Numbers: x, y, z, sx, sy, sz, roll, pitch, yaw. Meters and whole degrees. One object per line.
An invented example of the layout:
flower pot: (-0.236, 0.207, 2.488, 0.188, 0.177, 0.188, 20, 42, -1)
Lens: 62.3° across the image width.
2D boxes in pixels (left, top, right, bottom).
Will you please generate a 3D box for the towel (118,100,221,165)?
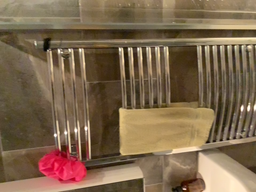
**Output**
towel: (0.210, 0.170, 1.070, 0.110, 0.500, 0.250, -141, 48, -72)

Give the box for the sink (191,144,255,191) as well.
sink: (0.540, 0.600, 1.120, 0.420, 0.210, 0.540, -144, 51, -72)
